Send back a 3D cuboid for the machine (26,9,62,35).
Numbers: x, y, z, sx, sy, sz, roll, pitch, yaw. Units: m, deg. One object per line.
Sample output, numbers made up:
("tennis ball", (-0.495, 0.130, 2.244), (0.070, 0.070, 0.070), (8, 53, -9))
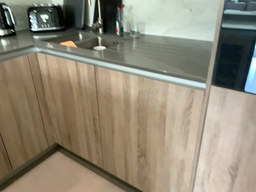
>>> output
("machine", (-0.700, -0.630, 1.790), (0.240, 0.170, 0.240), (-9, 28, -14))
